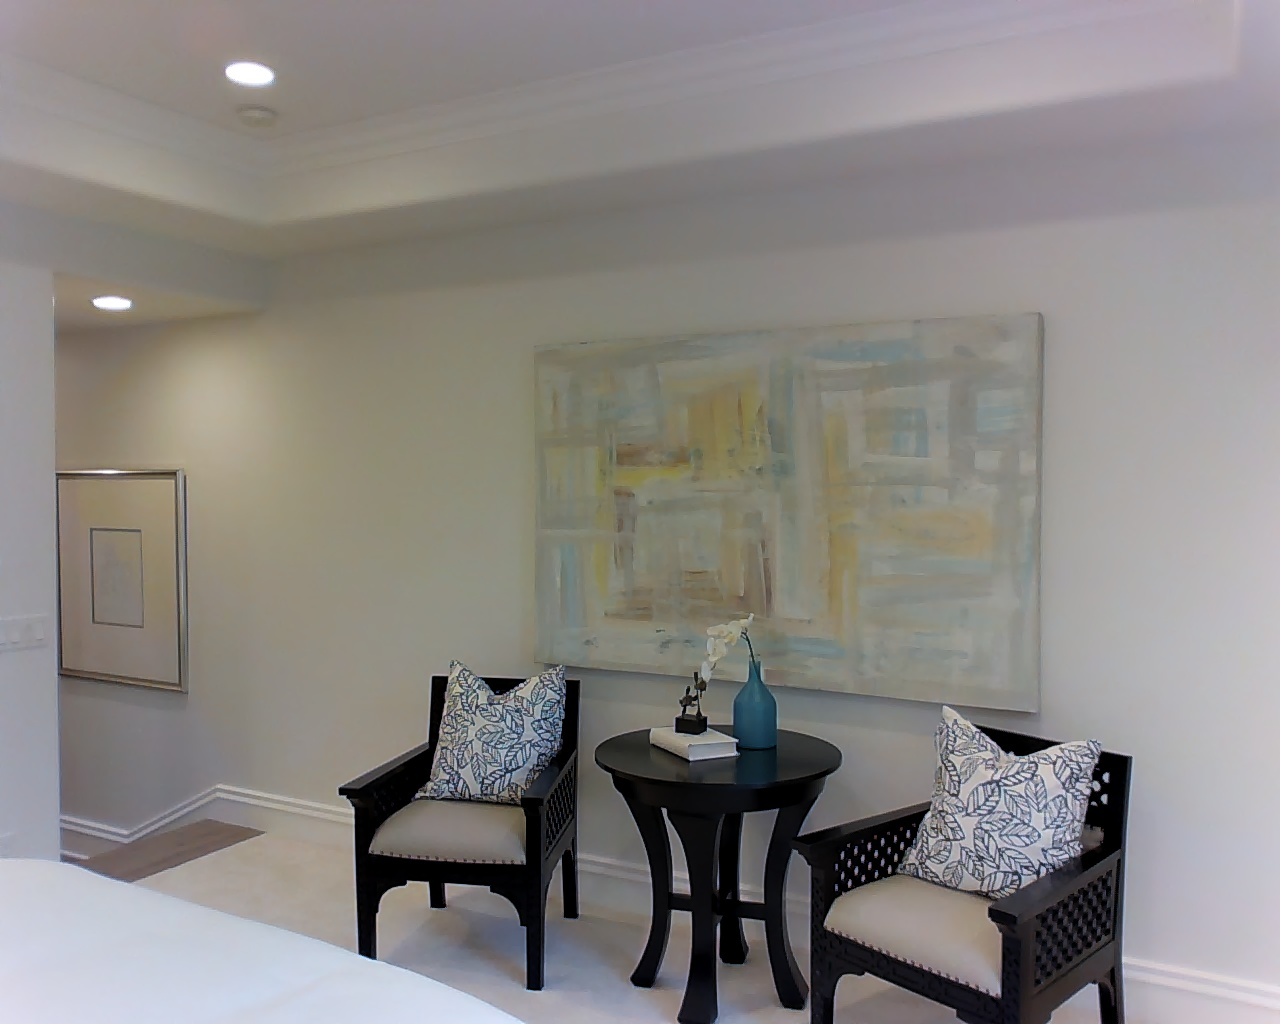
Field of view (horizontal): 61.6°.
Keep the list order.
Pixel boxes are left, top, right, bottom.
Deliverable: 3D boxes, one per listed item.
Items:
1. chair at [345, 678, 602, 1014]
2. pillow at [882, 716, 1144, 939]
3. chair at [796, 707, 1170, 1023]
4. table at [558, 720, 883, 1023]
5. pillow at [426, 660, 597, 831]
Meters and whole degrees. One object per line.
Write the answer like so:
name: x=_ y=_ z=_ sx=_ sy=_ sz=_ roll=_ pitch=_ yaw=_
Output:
chair: x=-0.540 y=1.090 z=3.710 sx=0.660 sy=0.890 sz=0.720 roll=0 pitch=1 yaw=12
pillow: x=1.010 y=0.860 z=2.940 sx=0.290 sy=0.490 sz=0.490 roll=-8 pitch=-9 yaw=-43
chair: x=0.920 y=1.070 z=2.900 sx=0.730 sy=0.890 sz=0.670 roll=-1 pitch=2 yaw=-39
table: x=0.280 y=1.160 z=3.390 sx=0.770 sy=0.780 sz=0.790 roll=0 pitch=1 yaw=28
pillow: x=-0.450 y=0.820 z=3.830 sx=0.450 sy=0.480 sz=0.320 roll=-13 pitch=-6 yaw=9
